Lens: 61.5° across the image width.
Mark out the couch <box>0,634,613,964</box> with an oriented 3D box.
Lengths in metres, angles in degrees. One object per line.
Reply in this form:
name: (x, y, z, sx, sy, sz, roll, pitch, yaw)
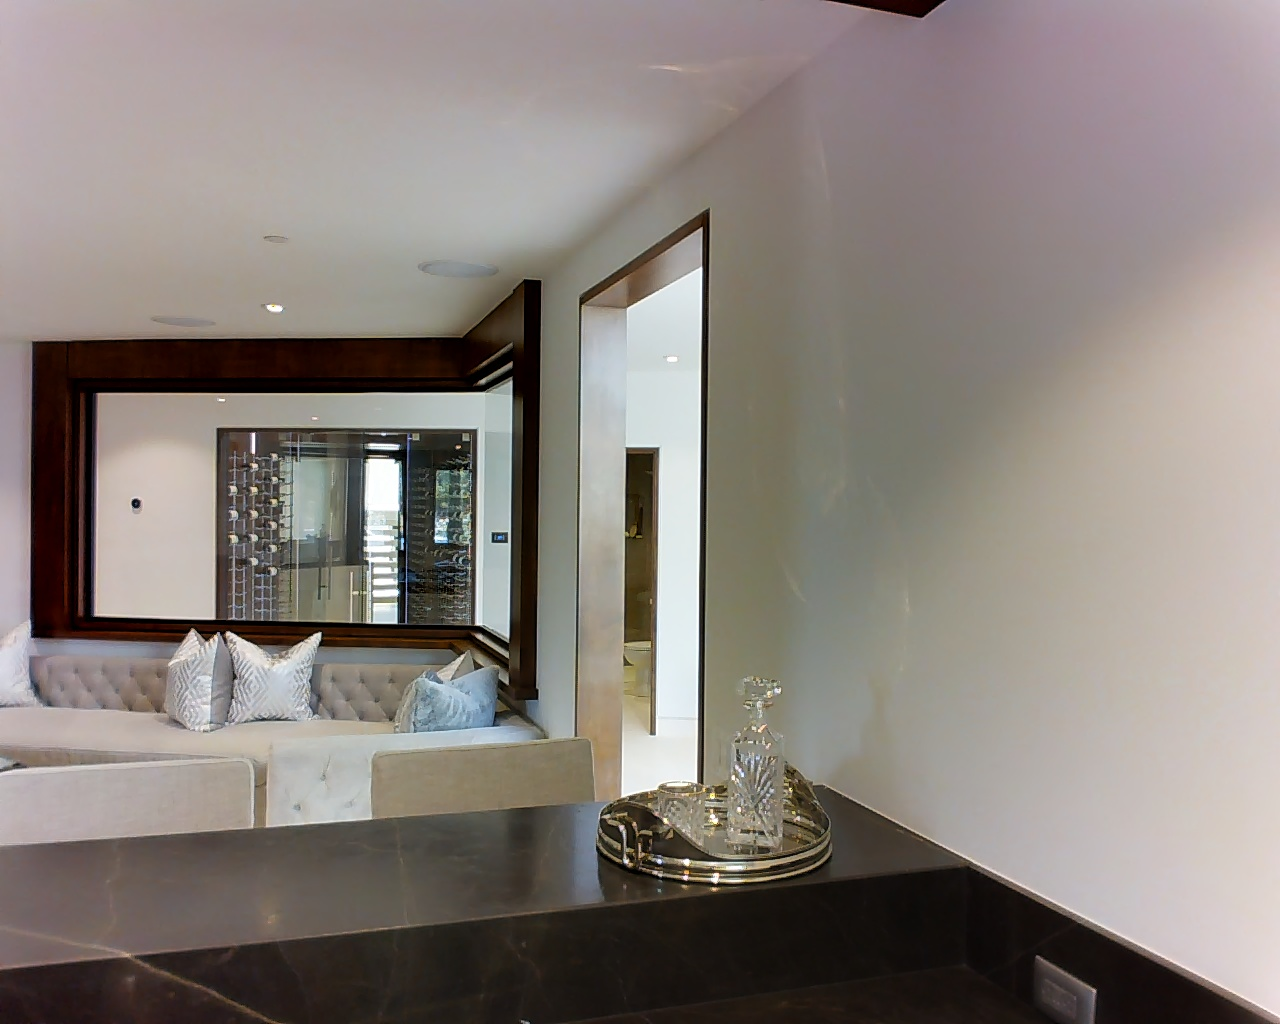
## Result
couch: (-2.530, 1.180, 5.260, 4.510, 0.800, 2.250, 1, 1, 7)
